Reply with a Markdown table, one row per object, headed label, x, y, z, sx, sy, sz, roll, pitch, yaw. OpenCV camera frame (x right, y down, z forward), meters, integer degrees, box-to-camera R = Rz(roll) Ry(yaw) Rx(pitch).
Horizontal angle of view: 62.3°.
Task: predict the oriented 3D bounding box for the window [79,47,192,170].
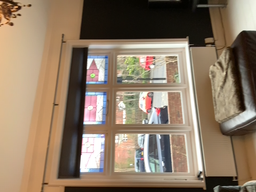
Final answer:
| label | x | y | z | sx | sy | sz | roll | pitch | yaw |
| --- | --- | --- | --- | --- | --- | --- | --- | --- | --- |
| window | 0.100 | 0.100 | 3.460 | 0.080 | 1.600 | 2.080 | 88 | -178 | -68 |
